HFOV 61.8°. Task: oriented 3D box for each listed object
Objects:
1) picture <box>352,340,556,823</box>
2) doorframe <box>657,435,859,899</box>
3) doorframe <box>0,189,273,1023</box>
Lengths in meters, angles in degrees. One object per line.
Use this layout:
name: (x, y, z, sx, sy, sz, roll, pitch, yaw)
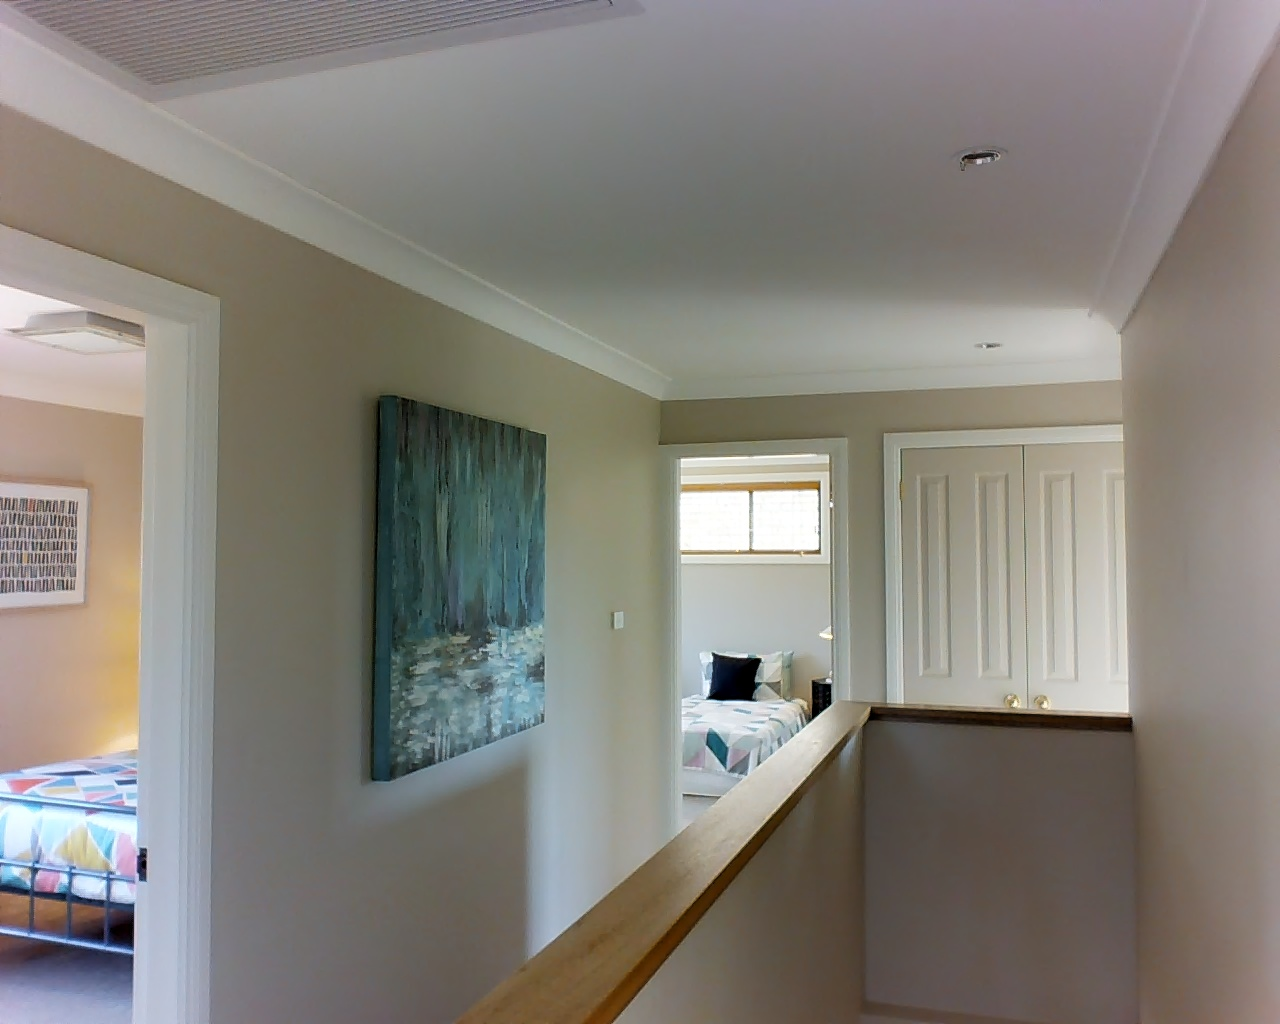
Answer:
picture: (-0.520, 0.200, 3.290, 0.080, 1.240, 1.110, -1, -3, 19)
doorframe: (0.550, 0.700, 5.060, 0.930, 2.091, 0.150, -1, -3, 19)
doorframe: (-1.080, 0.540, 1.830, 0.210, 2.101, 1.060, -1, -3, 19)
